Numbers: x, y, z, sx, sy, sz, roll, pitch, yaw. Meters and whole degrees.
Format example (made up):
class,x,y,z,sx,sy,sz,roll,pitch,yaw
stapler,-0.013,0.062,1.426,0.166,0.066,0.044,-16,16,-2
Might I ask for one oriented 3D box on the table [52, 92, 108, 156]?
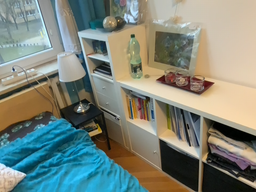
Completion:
class,x,y,z,sx,sy,sz,roll,pitch,yaw
table,-0.480,0.270,2.150,0.310,0.440,0.370,-31,37,-34

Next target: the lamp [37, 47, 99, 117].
class,x,y,z,sx,sy,sz,roll,pitch,yaw
lamp,-0.540,-0.140,1.930,0.250,0.490,0.430,-31,37,-34

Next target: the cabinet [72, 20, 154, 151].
class,x,y,z,sx,sy,sz,roll,pitch,yaw
cabinet,-0.100,-0.100,2.040,0.420,1.100,0.470,-31,37,-34
